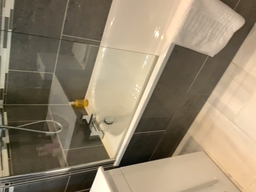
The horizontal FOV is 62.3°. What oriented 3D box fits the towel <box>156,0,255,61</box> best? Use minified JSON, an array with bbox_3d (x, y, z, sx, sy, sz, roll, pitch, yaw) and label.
[{"bbox_3d":[0.400,-0.350,1.080,0.170,0.430,0.250,52,130,42],"label":"towel"}]
